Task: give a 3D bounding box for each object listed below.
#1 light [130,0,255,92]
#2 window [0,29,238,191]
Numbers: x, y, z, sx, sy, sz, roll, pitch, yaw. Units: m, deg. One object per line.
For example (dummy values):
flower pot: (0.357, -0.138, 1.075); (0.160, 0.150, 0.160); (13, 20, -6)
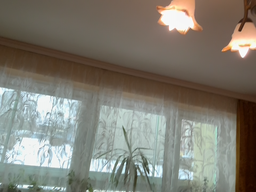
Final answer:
light: (0.460, -0.390, 0.860); (0.440, 0.750, 0.470); (-41, -79, -26)
window: (-0.360, 0.710, 2.280); (3.780, 0.300, 2.270); (12, -103, -20)
